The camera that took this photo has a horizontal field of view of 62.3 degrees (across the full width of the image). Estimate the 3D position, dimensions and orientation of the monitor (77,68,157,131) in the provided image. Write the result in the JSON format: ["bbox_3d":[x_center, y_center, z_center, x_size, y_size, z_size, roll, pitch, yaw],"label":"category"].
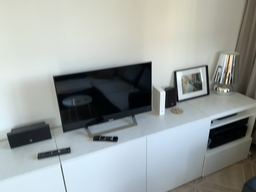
[{"bbox_3d":[-0.060,0.020,1.630,0.610,0.400,0.030,-12,30,-21],"label":"monitor"}]
